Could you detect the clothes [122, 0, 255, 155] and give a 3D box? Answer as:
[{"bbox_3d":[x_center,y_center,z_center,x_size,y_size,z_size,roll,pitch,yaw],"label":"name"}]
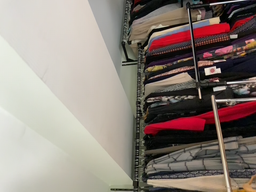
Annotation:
[{"bbox_3d":[0.900,-0.250,1.810,0.390,1.760,1.380,70,-161,-53],"label":"clothes"}]
